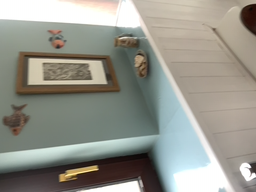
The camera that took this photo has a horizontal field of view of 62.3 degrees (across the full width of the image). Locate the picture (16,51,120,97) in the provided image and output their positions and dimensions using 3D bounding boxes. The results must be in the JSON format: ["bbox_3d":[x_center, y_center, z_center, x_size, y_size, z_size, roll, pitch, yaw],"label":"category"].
[{"bbox_3d":[-0.290,-0.120,1.050,0.010,0.460,0.280,112,148,-49],"label":"picture"}]
